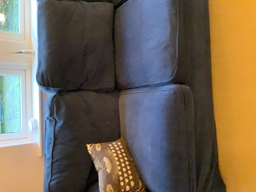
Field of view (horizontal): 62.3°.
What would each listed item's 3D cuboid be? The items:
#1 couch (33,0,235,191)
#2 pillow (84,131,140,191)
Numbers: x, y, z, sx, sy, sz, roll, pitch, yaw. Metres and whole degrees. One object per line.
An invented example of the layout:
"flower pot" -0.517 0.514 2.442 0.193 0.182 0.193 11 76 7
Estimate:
"couch" -0.030 -0.320 1.310 0.930 0.810 2.180 -3 88 52
"pillow" -0.090 0.410 1.240 0.130 0.280 0.350 71 -166 -57
